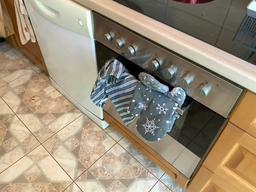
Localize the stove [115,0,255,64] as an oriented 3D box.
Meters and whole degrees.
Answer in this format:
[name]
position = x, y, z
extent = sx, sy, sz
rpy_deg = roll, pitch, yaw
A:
[stove]
position = 0.300, -0.380, 0.780
extent = 0.600, 0.020, 0.560
rpy_deg = 36, 56, 27
